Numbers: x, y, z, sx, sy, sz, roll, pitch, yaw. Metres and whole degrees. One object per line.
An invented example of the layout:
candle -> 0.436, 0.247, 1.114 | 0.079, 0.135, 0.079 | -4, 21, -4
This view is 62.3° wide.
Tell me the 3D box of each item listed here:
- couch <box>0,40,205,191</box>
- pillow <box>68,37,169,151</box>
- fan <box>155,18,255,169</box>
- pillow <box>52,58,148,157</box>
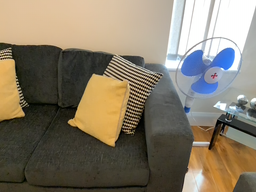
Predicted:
couch -> -0.560, 0.150, 1.520 | 1.750, 0.780, 1.000 | 3, 30, -1
pillow -> -0.100, -0.010, 1.490 | 0.180, 0.520, 0.560 | 6, 44, -56
fan -> 0.520, -0.010, 1.680 | 0.440, 1.050, 0.530 | 3, 30, 0
pillow -> -0.190, 0.070, 1.400 | 0.450, 0.420, 0.190 | 48, 18, 11
